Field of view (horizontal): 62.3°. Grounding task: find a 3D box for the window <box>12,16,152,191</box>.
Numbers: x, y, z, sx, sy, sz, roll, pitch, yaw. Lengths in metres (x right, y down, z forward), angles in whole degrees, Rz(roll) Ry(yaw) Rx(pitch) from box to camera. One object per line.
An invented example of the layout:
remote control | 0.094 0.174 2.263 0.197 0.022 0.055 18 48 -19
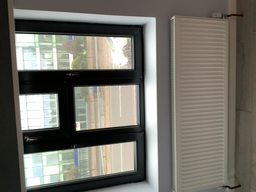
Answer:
window | -0.340 0.110 1.860 0.160 1.110 1.450 -167 75 -72
